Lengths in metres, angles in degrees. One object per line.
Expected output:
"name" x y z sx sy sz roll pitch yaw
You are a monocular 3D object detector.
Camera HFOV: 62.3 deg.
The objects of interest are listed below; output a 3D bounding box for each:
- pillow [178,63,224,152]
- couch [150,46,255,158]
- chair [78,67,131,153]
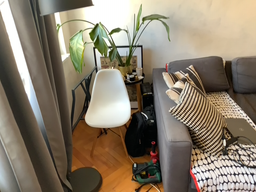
"pillow" 0.590 0.130 1.790 0.220 0.630 0.500 5 -17 3
"couch" 1.490 -0.020 2.410 2.400 0.840 1.100 -2 26 3
"chair" -0.210 0.140 2.320 0.450 0.780 0.500 -2 26 2
